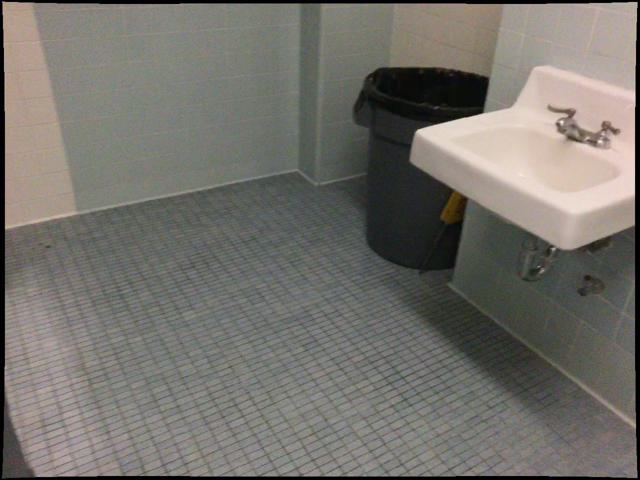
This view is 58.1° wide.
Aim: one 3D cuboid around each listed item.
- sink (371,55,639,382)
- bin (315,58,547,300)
[{"bbox_3d":[0.539,-0.110,1.570,0.479,0.581,0.620,-17,36,-28],"label":"sink"},{"bbox_3d":[0.409,-0.291,2.390,0.609,0.701,0.620,-17,36,-28],"label":"bin"}]
